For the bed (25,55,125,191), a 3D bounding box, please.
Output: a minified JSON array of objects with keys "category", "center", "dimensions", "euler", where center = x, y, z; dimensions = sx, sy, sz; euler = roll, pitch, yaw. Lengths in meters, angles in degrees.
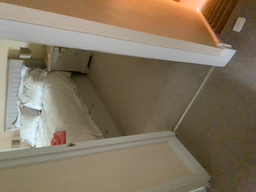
[{"category":"bed","center":[-1.120,0.660,3.580],"dimensions":[2.150,0.700,1.850],"euler":[50,130,43]}]
